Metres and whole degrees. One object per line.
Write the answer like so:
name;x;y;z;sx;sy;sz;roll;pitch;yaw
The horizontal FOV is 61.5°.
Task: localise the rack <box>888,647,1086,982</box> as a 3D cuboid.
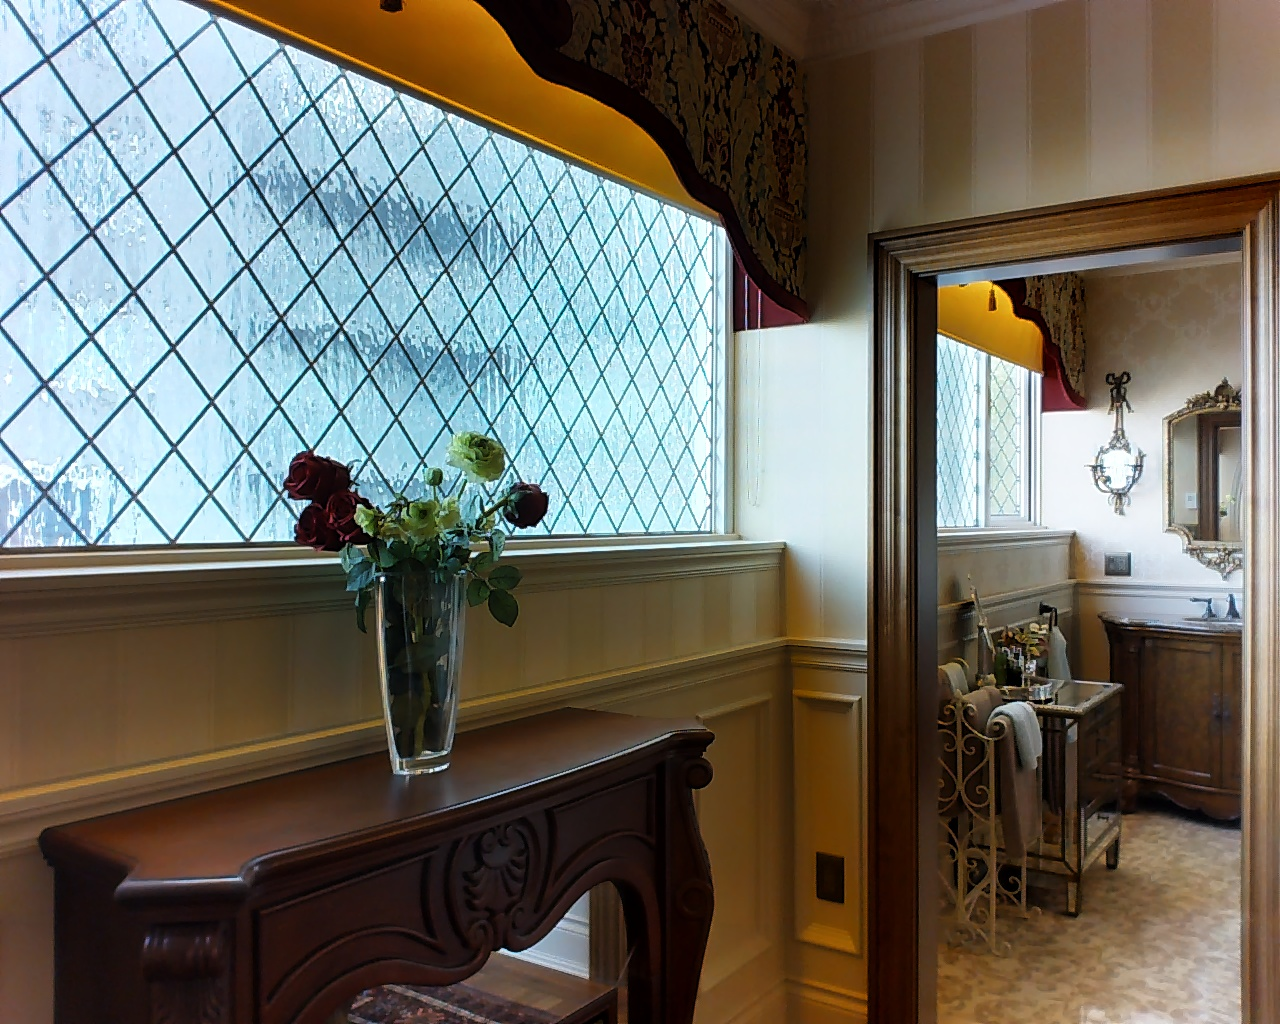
rack;1.180;0.970;3.640;0.510;0.940;0.480;0;0;36
